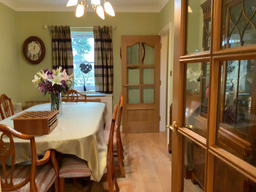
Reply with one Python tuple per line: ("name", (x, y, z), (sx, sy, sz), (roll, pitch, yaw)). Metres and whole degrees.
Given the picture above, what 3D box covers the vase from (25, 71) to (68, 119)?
("vase", (-0.920, -0.030, 2.440), (0.360, 0.510, 0.300), (-1, 8, -5))
